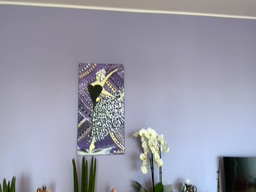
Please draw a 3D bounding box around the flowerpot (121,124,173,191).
[{"bbox_3d":[0.130,0.630,1.670,0.340,0.810,0.340,1,-9,-7],"label":"flowerpot"}]
